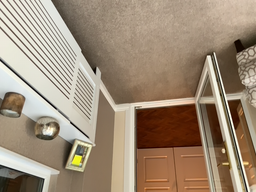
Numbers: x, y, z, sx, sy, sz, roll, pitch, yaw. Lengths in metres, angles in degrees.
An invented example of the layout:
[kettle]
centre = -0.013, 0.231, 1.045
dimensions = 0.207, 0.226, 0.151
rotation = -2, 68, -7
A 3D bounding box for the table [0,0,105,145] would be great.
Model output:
[table]
centre = -0.560, -0.350, 1.350
dimensions = 0.170, 0.780, 1.900
rotation = -6, 149, 12
